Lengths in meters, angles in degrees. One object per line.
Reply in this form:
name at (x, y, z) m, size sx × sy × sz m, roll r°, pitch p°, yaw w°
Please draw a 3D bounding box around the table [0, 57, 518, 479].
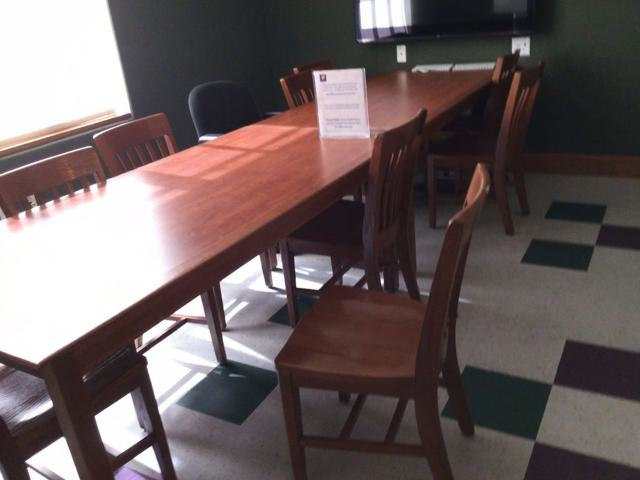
table at (0.030, -0.190, 2.800) m, size 1.000 × 0.800 × 3.640 m, roll 7°, pitch 27°, yaw 29°
